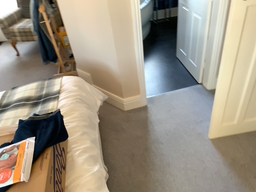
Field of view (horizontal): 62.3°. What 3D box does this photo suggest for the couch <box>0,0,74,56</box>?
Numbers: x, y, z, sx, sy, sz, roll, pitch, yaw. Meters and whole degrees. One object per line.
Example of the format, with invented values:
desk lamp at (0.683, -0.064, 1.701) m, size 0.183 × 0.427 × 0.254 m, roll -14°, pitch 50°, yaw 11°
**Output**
couch at (-1.510, -1.290, 3.370) m, size 0.790 × 1.000 × 0.860 m, roll 2°, pitch 39°, yaw 12°
